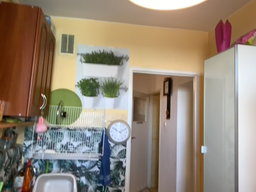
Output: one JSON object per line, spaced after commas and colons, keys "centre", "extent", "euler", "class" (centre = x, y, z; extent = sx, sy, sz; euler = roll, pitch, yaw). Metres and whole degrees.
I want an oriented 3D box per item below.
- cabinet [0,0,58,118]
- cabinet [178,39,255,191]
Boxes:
{"centre": [-0.780, -0.230, 1.640], "extent": [0.290, 0.770, 0.710], "euler": [3, -5, -8], "class": "cabinet"}
{"centre": [0.750, 0.680, 1.750], "extent": [0.330, 2.030, 0.860], "euler": [3, -5, -10], "class": "cabinet"}
